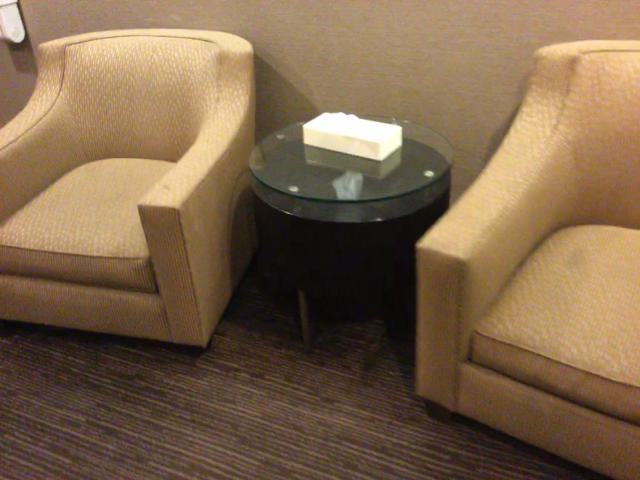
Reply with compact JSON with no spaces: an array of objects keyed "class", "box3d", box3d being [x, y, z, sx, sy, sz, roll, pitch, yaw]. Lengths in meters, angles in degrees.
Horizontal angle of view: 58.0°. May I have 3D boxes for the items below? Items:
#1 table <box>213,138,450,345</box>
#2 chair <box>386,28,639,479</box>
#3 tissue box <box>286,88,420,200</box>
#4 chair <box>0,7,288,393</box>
[{"class":"table","box3d":[0.040,-0.020,1.730,0.580,0.390,0.360,12,32,18]},{"class":"chair","box3d":[0.800,0.040,1.480,0.910,0.930,0.940,16,34,32]},{"class":"tissue box","box3d":[0.100,-0.300,1.760,0.340,0.230,0.220,12,32,18]},{"class":"chair","box3d":[-0.650,-0.220,1.970,0.880,0.900,0.980,6,31,8]}]
